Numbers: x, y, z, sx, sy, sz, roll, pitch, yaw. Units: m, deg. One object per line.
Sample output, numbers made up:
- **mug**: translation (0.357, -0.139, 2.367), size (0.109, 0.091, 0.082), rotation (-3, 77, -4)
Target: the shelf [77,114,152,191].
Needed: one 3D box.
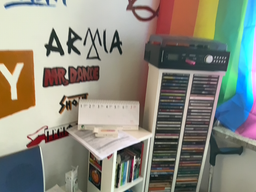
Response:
- **shelf**: translation (-0.110, 0.630, 1.190), size (0.240, 0.990, 0.270), rotation (-10, 23, -43)
